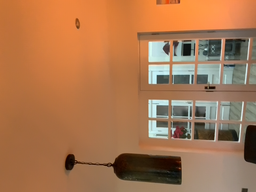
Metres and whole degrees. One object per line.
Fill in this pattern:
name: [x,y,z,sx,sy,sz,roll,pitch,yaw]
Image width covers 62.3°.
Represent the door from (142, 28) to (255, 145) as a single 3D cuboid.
door: [1.220,-0.110,3.170,0.090,2.010,1.690,-55,-35,-73]
